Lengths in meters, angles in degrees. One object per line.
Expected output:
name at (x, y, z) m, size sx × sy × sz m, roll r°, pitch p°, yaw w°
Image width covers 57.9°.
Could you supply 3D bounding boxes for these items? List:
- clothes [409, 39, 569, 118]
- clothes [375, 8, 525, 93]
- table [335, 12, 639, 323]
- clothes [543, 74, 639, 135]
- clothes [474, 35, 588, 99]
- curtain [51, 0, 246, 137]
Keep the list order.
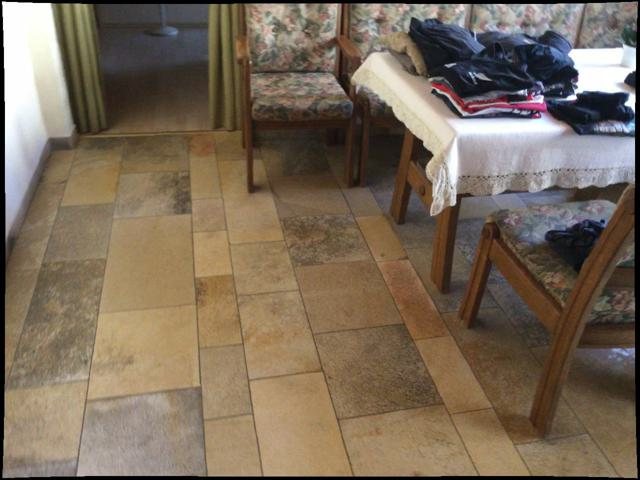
clothes at (0.559, -0.561, 1.980) m, size 0.400 × 0.150 × 0.340 m, roll -4°, pitch 36°, yaw -10°
clothes at (0.470, -0.741, 2.220) m, size 0.380 × 0.160 × 0.520 m, roll -4°, pitch 36°, yaw -10°
table at (0.909, -0.380, 2.410) m, size 1.459 × 0.831 × 1.030 m, roll -4°, pitch 36°, yaw -10°
clothes at (0.959, -0.460, 1.940) m, size 0.310 × 0.120 × 0.220 m, roll -4°, pitch 36°, yaw -10°
clothes at (0.769, -0.651, 2.150) m, size 0.260 × 0.130 × 0.320 m, roll -4°, pitch 36°, yaw -10°
curtain at (-0.869, -1.532, 2.870) m, size 0.929 × 2.031 × 0.330 m, roll -4°, pitch 35°, yaw -10°
